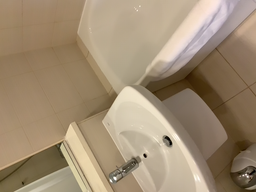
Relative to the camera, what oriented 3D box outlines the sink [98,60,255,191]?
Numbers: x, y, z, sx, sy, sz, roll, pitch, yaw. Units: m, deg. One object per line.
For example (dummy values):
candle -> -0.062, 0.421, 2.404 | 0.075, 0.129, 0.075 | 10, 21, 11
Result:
sink -> 0.150, 0.230, 0.980 | 0.590, 0.190, 0.470 | 56, 144, 15
